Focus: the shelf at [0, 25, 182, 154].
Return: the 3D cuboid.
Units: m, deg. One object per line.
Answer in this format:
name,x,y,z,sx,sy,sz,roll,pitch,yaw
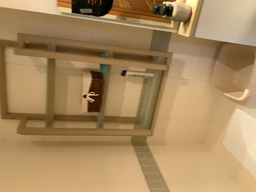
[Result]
shelf,-0.260,0.010,1.300,0.160,1.040,0.710,-118,35,-62
